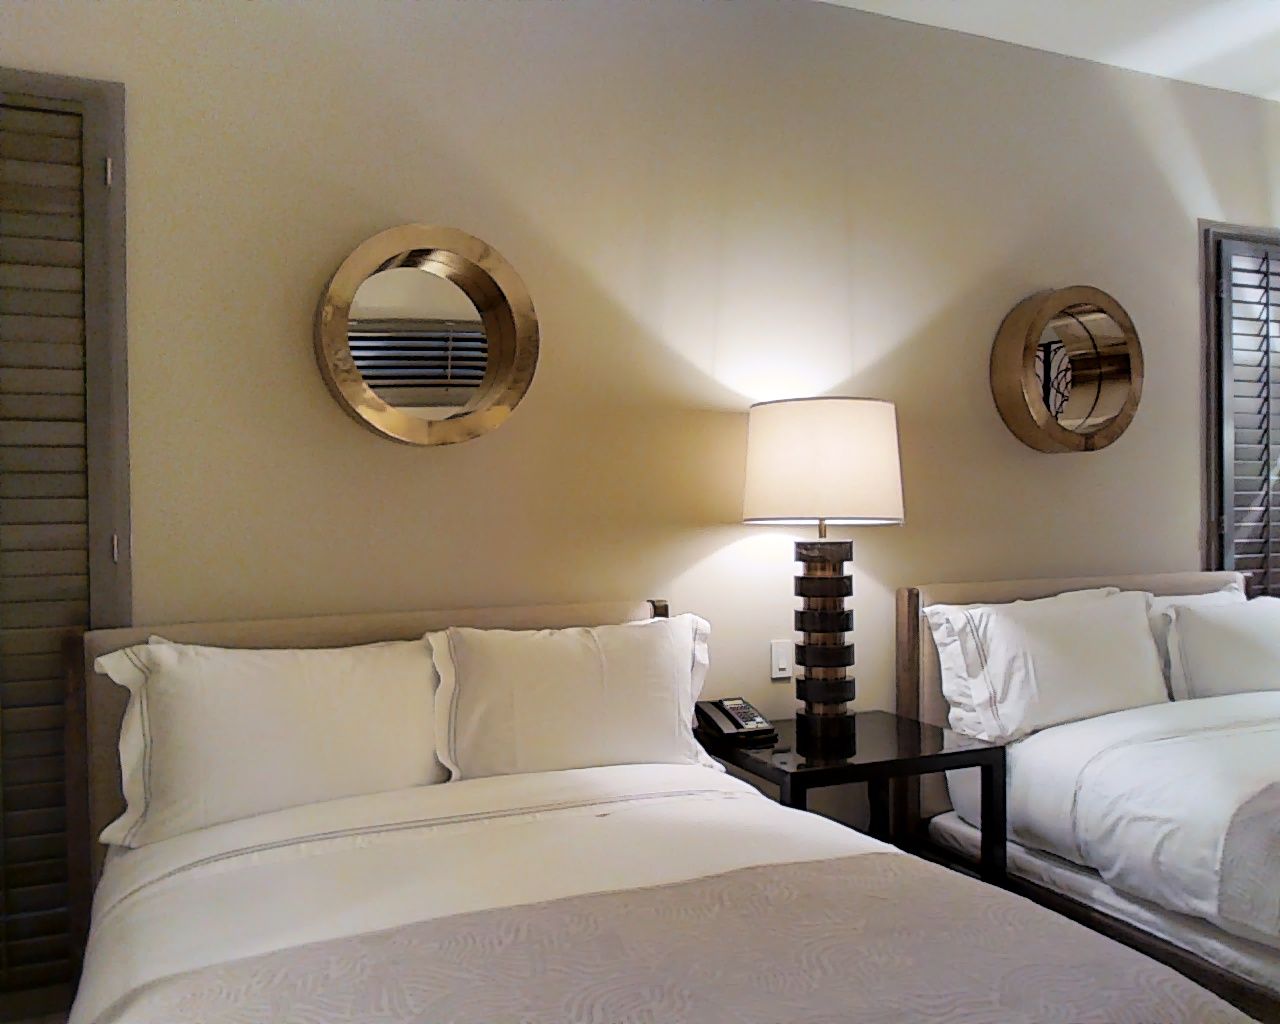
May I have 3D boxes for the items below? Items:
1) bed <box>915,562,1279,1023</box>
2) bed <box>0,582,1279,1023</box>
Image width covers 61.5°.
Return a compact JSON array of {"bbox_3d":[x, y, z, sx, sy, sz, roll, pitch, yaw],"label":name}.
[{"bbox_3d":[2.140,0.760,2.990,1.640,1.090,2.240,0,1,-23],"label":"bed"},{"bbox_3d":[-0.150,0.780,2.000,1.790,1.090,2.210,0,1,-24],"label":"bed"}]
